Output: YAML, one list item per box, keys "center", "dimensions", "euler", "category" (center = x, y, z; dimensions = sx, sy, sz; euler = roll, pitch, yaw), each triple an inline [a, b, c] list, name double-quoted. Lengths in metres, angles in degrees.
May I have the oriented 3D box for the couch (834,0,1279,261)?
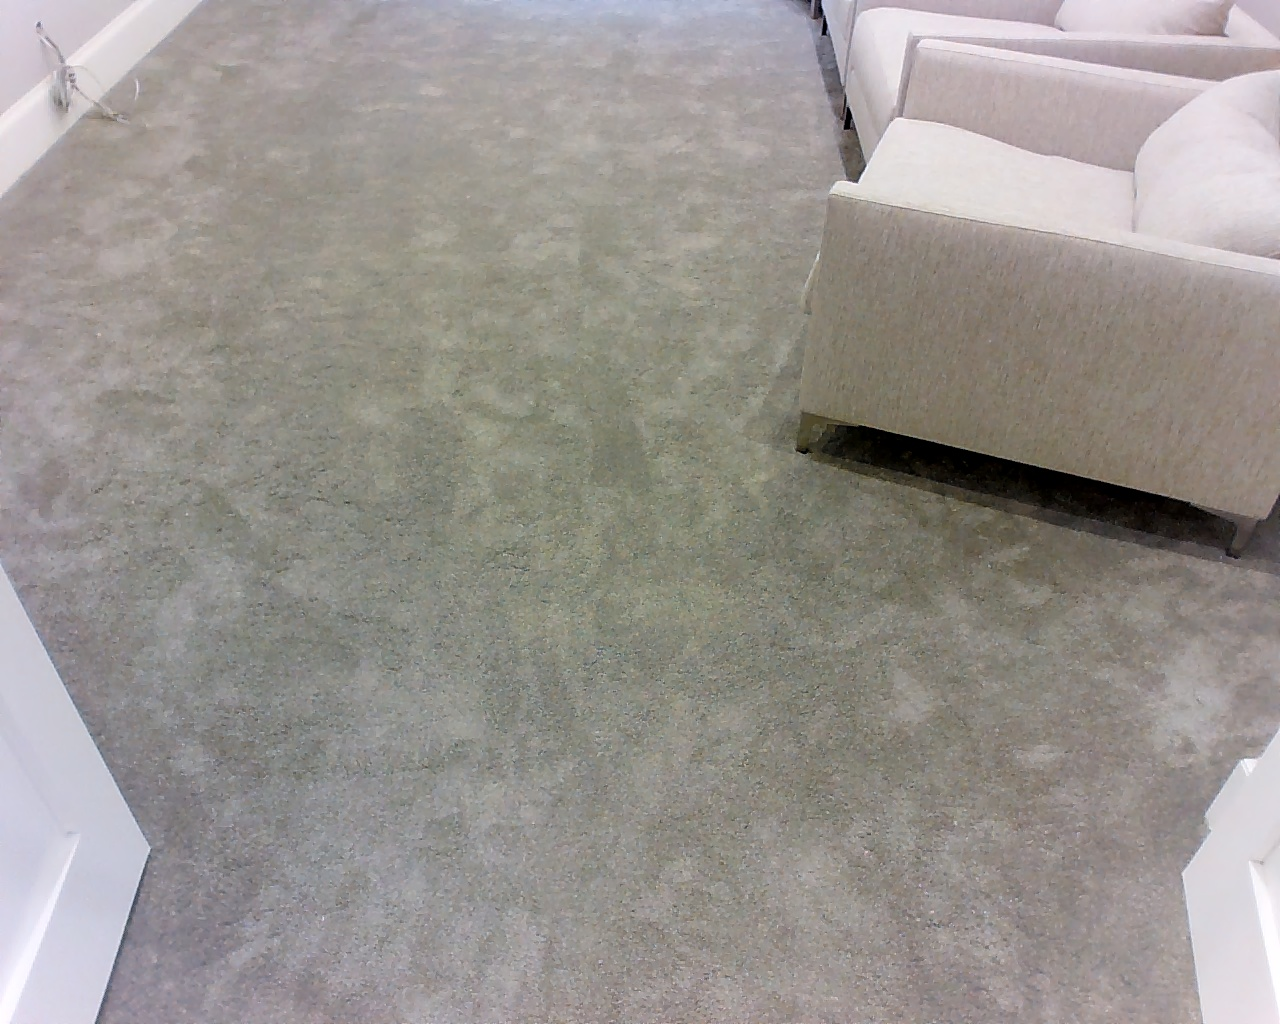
- center: [1.180, -1.340, 3.270]
  dimensions: [0.970, 0.650, 1.130]
  euler: [2, 41, 0]
  category: "couch"

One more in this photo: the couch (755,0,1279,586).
- center: [0.980, -0.590, 2.480]
  dimensions: [1.120, 0.720, 1.120]
  euler: [13, 43, 14]
  category: "couch"
